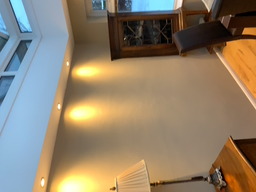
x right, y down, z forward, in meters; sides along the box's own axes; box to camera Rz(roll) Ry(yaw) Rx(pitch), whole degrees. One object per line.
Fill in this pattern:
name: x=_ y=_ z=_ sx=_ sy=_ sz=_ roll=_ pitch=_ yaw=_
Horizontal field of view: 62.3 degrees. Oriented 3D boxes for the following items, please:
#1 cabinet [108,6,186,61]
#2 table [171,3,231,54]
cabinet: x=0.230 y=-0.940 z=3.150 sx=0.590 sy=1.020 sz=0.550 roll=-97 pitch=6 yaw=-47
table: x=1.060 y=-1.030 z=3.220 sx=0.520 sy=0.620 sz=0.560 roll=-97 pitch=6 yaw=-47
